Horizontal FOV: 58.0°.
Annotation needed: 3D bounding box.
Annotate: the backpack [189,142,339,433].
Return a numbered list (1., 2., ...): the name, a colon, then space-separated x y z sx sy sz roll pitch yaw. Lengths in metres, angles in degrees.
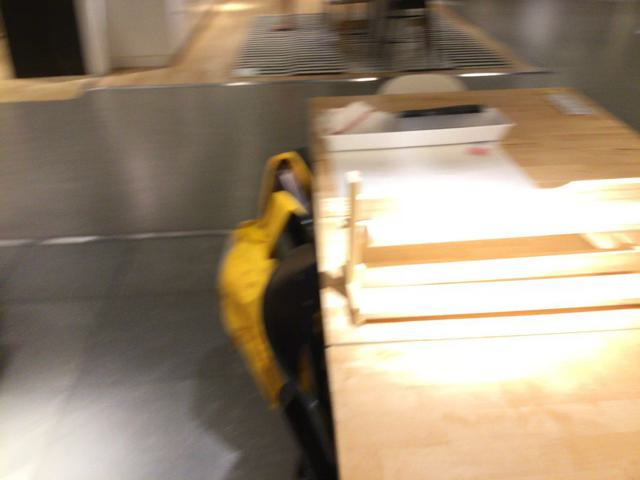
1. backpack: -0.110 0.110 1.400 0.270 0.580 0.370 -3 30 -1
